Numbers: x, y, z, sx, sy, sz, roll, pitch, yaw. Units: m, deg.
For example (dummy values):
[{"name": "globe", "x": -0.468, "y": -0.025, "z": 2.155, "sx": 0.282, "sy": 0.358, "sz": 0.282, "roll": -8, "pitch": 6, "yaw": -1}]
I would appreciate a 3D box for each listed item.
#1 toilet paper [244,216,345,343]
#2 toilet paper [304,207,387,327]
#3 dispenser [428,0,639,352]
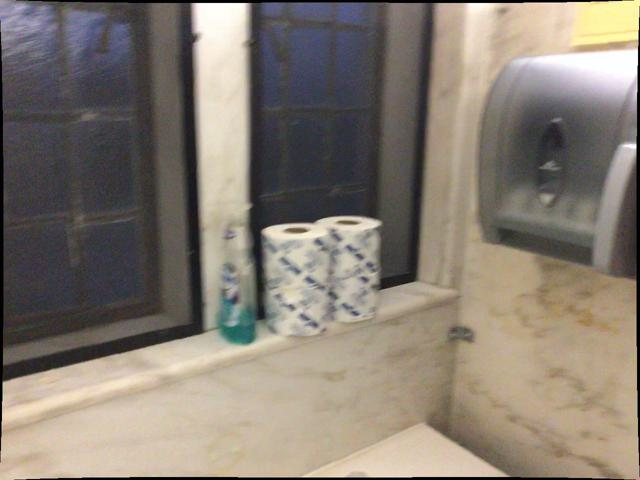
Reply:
[{"name": "toilet paper", "x": -0.050, "y": 0.070, "z": 1.120, "sx": 0.150, "sy": 0.200, "sz": 0.120, "roll": -10, "pitch": 17, "yaw": -37}, {"name": "toilet paper", "x": 0.050, "y": 0.050, "z": 1.200, "sx": 0.110, "sy": 0.210, "sz": 0.130, "roll": -10, "pitch": 18, "yaw": -38}, {"name": "dispenser", "x": 0.440, "y": -0.130, "z": 0.950, "sx": 0.270, "sy": 0.480, "sz": 0.410, "roll": -10, "pitch": 18, "yaw": -38}]
